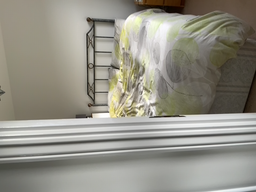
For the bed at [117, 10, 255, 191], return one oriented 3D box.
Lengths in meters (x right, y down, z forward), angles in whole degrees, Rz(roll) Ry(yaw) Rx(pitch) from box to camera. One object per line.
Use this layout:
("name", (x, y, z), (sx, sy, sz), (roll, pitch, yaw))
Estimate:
("bed", (0.400, -0.100, 2.480), (2.090, 0.680, 1.610), (-118, 29, -64))
